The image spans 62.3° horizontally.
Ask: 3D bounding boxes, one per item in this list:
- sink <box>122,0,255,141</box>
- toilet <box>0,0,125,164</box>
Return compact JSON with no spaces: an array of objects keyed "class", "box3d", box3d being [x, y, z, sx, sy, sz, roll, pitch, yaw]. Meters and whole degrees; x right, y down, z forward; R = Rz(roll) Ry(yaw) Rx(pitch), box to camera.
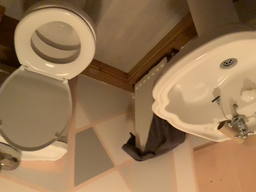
[{"class":"sink","box3d":[0.330,-0.060,0.740,0.470,0.170,0.580,19,143,-25]},{"class":"toilet","box3d":[-0.390,-0.160,1.120,0.440,0.800,0.690,20,143,-27]}]
